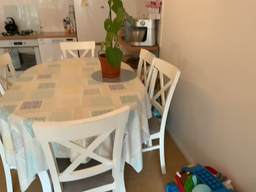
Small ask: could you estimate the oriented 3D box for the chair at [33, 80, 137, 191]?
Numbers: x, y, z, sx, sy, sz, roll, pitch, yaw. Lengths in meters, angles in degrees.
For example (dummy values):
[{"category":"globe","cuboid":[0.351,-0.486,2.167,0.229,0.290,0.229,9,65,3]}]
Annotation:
[{"category":"chair","cuboid":[-0.250,0.420,1.250,0.420,0.870,0.500,-8,25,-19]}]
